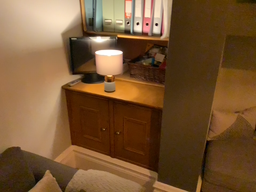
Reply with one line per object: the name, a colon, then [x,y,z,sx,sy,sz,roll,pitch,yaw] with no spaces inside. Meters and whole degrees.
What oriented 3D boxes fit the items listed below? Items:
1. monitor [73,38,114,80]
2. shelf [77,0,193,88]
monitor: [-0.280,-0.310,1.780,0.330,0.320,0.030,-8,27,-19]
shelf: [0.050,-0.740,1.730,0.870,1.160,0.350,12,27,22]
